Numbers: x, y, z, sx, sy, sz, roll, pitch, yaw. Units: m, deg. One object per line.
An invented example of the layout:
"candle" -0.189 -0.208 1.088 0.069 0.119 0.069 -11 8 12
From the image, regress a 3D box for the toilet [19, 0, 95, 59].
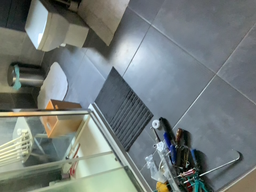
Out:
"toilet" -0.700 -0.690 2.050 0.540 0.460 0.360 49 121 35

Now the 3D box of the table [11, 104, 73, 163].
"table" -0.940 0.380 2.290 0.450 0.430 0.390 51 122 34

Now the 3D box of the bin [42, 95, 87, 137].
"bin" -0.630 0.190 2.090 0.280 0.280 0.280 -54 53 29
